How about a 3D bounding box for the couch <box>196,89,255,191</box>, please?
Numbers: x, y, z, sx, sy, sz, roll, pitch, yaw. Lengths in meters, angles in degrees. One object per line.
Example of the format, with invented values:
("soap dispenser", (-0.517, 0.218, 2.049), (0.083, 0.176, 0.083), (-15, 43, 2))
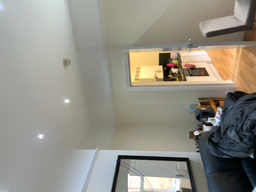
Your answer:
("couch", (1.360, 0.660, 2.280), (1.440, 0.900, 0.940), (-77, -14, -61))
